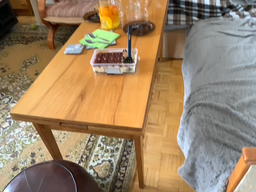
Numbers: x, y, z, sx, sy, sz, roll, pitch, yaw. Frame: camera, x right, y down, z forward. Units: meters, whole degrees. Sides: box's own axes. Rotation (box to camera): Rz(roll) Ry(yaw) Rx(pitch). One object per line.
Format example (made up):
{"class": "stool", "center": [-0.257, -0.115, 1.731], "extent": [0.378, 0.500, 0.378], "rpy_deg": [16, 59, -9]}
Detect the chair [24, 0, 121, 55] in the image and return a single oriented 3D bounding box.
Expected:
{"class": "chair", "center": [-0.510, -1.080, 2.150], "extent": [0.650, 0.960, 0.880], "rpy_deg": [4, 44, 9]}

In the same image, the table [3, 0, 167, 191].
{"class": "table", "center": [-0.070, -0.170, 1.420], "extent": [0.550, 0.560, 1.320], "rpy_deg": [5, 44, 10]}
